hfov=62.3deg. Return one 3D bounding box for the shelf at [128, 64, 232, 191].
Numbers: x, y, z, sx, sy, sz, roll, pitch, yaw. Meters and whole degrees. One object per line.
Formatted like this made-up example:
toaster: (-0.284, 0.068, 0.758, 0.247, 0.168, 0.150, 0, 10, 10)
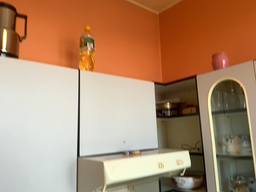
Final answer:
shelf: (0.310, 0.250, 1.410, 0.350, 0.760, 0.510, 5, -12, -37)
